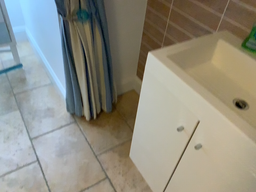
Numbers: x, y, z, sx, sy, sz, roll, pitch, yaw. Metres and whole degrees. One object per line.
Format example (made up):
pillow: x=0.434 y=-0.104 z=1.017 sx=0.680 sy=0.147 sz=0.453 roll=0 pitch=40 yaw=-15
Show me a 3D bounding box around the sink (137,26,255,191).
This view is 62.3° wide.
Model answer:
sink: x=0.400 y=-0.010 z=0.760 sx=0.450 sy=0.140 sz=0.610 roll=-22 pitch=51 yaw=-27
